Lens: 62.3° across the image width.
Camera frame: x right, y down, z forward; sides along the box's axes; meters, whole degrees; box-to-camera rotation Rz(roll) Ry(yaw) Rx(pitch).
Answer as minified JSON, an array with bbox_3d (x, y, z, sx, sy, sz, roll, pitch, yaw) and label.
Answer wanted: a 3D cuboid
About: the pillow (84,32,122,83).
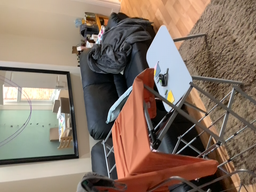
[{"bbox_3d":[-0.330,-0.500,2.760,0.450,0.250,0.430,-68,5,-46],"label":"pillow"}]

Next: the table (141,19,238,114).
[{"bbox_3d":[0.500,-0.260,1.930,0.440,0.470,0.710,119,144,-46],"label":"table"}]
